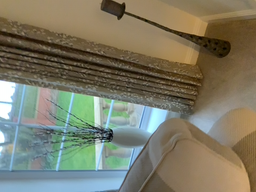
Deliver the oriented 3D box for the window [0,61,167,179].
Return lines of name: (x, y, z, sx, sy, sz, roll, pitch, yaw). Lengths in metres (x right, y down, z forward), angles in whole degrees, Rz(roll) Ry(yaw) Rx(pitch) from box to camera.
window: (-0.660, 0.240, 1.710, 0.080, 2.100, 0.880, 28, 107, 62)

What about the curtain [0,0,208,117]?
curtain: (-0.410, -0.230, 1.300, 0.120, 2.250, 0.470, 25, 104, 62)
